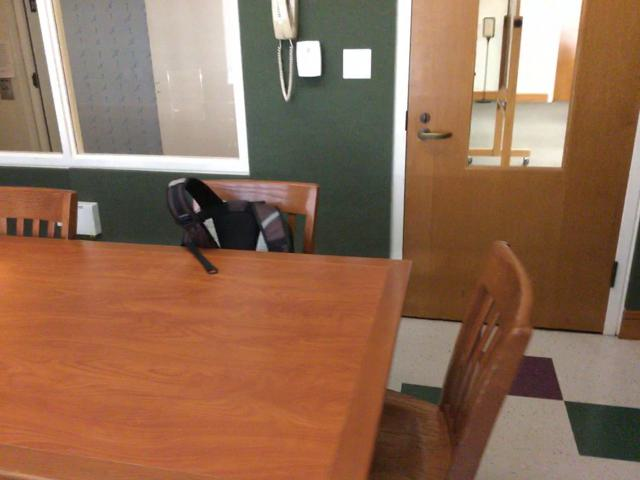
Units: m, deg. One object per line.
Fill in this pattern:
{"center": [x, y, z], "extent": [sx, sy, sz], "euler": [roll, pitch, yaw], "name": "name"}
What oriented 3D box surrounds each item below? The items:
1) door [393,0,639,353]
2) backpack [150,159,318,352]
{"center": [0.830, -0.590, 2.330], "extent": [0.990, 2.220, 0.160], "euler": [3, 22, 12], "name": "door"}
{"center": [-0.230, 0.040, 1.770], "extent": [0.440, 0.510, 0.290], "euler": [-1, 21, 0], "name": "backpack"}
